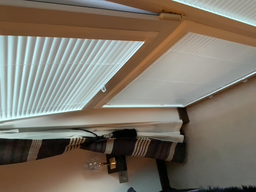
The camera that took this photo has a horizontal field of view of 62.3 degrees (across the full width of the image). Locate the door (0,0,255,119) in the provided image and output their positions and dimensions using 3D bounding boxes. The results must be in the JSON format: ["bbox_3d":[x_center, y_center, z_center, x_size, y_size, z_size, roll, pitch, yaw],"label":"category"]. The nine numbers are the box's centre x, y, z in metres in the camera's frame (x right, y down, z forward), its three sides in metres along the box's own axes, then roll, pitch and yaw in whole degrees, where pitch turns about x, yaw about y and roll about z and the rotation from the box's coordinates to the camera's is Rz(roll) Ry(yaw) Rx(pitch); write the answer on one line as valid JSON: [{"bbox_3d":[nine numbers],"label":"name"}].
[{"bbox_3d":[-0.030,-0.170,0.850,1.670,2.170,0.060,-36,59,55],"label":"door"}]
